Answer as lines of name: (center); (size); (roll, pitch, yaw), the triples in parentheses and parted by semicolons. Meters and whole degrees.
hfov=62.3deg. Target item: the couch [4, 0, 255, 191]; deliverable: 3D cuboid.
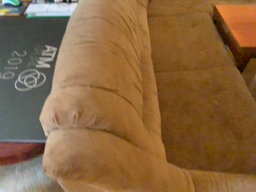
couch: (0.230, -0.200, 1.260); (0.900, 0.870, 1.710); (0, 48, -1)
